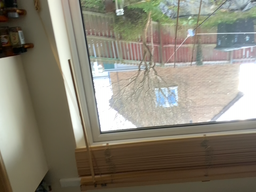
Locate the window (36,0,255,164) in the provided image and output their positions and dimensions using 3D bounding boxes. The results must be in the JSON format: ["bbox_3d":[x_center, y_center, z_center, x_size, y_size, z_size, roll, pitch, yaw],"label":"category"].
[{"bbox_3d":[0.290,-0.290,1.060,1.270,1.050,0.340,-7,-163,-1],"label":"window"}]
